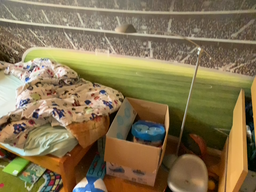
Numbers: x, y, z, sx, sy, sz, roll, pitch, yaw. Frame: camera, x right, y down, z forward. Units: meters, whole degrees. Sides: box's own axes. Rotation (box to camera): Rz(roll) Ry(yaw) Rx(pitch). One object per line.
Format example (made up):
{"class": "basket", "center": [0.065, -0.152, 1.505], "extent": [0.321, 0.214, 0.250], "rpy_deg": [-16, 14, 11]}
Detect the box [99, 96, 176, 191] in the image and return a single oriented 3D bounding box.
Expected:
{"class": "box", "center": [0.100, 0.380, 1.820], "extent": [0.470, 0.430, 0.620], "rpy_deg": [13, 33, 14]}
